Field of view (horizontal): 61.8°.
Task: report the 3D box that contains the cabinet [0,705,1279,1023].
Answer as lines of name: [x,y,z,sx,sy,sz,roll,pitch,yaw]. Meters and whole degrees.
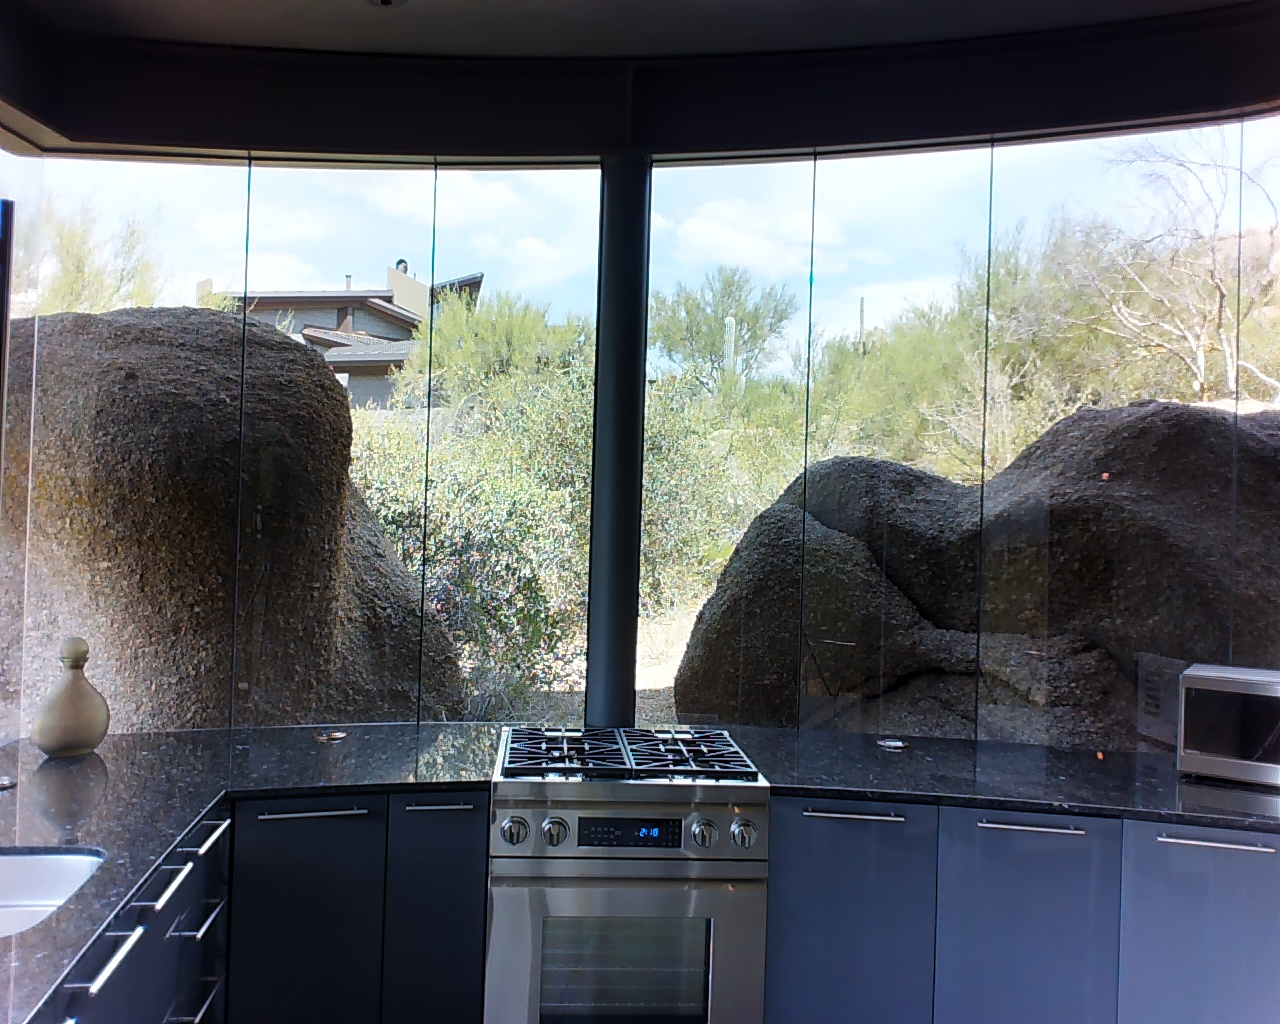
cabinet: [0.200,1.160,2.600,3.969,0.910,2.630,2,-1,-6]
